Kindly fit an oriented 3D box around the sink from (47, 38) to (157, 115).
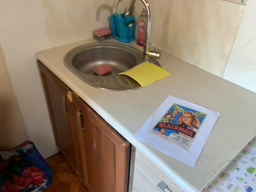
[{"bbox_3d":[-0.150,-0.150,1.240,0.450,0.170,0.430,-25,43,-35],"label":"sink"}]
